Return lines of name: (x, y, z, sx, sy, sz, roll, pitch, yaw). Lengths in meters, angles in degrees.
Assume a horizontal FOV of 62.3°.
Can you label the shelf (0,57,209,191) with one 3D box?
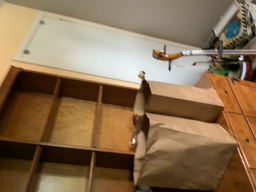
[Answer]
shelf: (-0.190, 0.320, 1.200, 0.210, 1.210, 1.090, 112, 162, -46)
